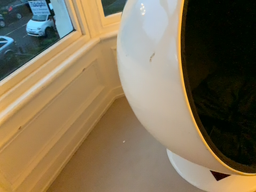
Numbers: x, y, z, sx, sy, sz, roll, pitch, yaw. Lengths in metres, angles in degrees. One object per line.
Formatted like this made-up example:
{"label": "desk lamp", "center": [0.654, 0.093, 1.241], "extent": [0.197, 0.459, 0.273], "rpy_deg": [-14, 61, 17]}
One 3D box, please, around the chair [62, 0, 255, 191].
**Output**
{"label": "chair", "center": [0.430, -0.180, 1.060], "extent": [1.040, 1.170, 0.900], "rpy_deg": [-28, 42, -21]}
